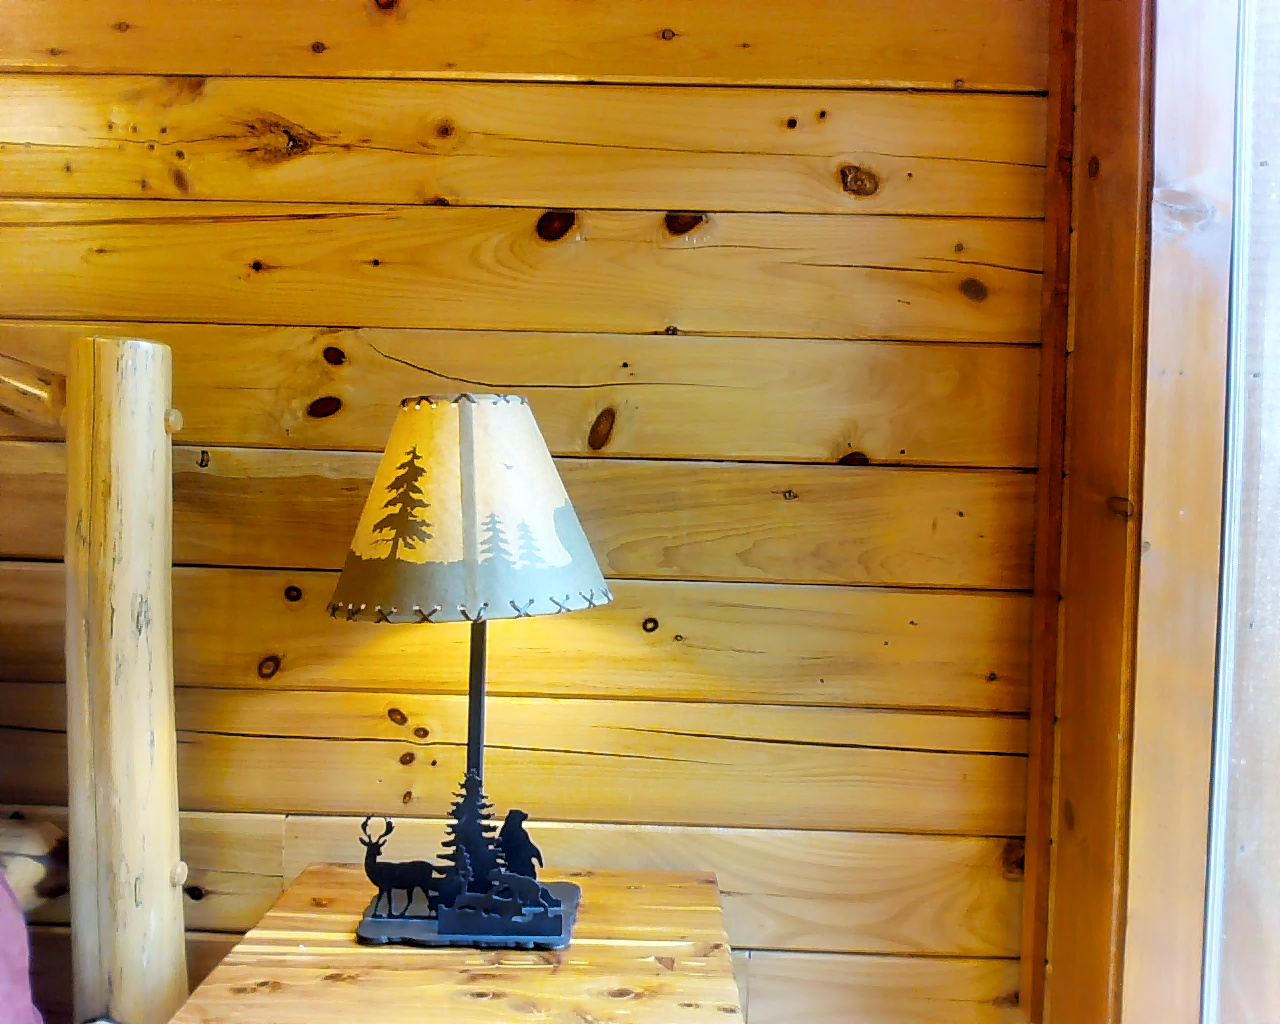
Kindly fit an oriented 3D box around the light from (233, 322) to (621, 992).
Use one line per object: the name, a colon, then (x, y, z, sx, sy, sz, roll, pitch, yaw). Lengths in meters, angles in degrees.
light: (-0.230, 0.150, 1.330, 0.390, 0.700, 0.390, 1, 2, 0)
